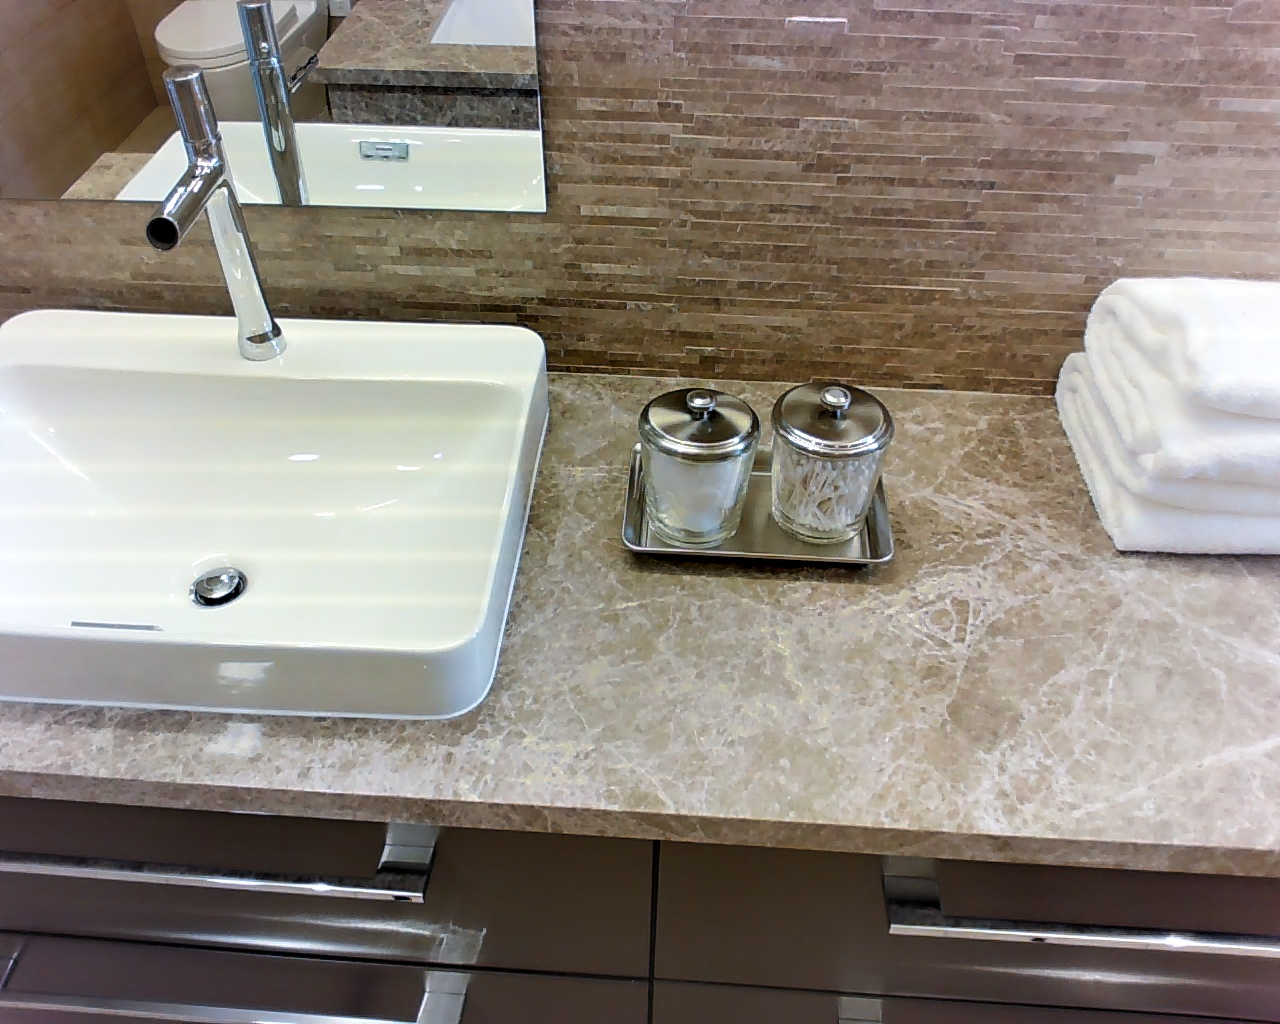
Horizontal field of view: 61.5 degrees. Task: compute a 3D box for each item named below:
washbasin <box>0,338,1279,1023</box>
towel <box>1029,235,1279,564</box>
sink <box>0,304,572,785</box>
[{"bbox_3d":[0.460,0.300,1.190,2.660,0.660,0.600,3,42,3],"label":"washbasin"},{"bbox_3d":[0.600,-0.110,1.020,0.350,0.200,0.250,1,42,1],"label":"towel"},{"bbox_3d":[-0.400,0.000,1.030,0.620,0.150,0.480,2,42,2],"label":"sink"}]
